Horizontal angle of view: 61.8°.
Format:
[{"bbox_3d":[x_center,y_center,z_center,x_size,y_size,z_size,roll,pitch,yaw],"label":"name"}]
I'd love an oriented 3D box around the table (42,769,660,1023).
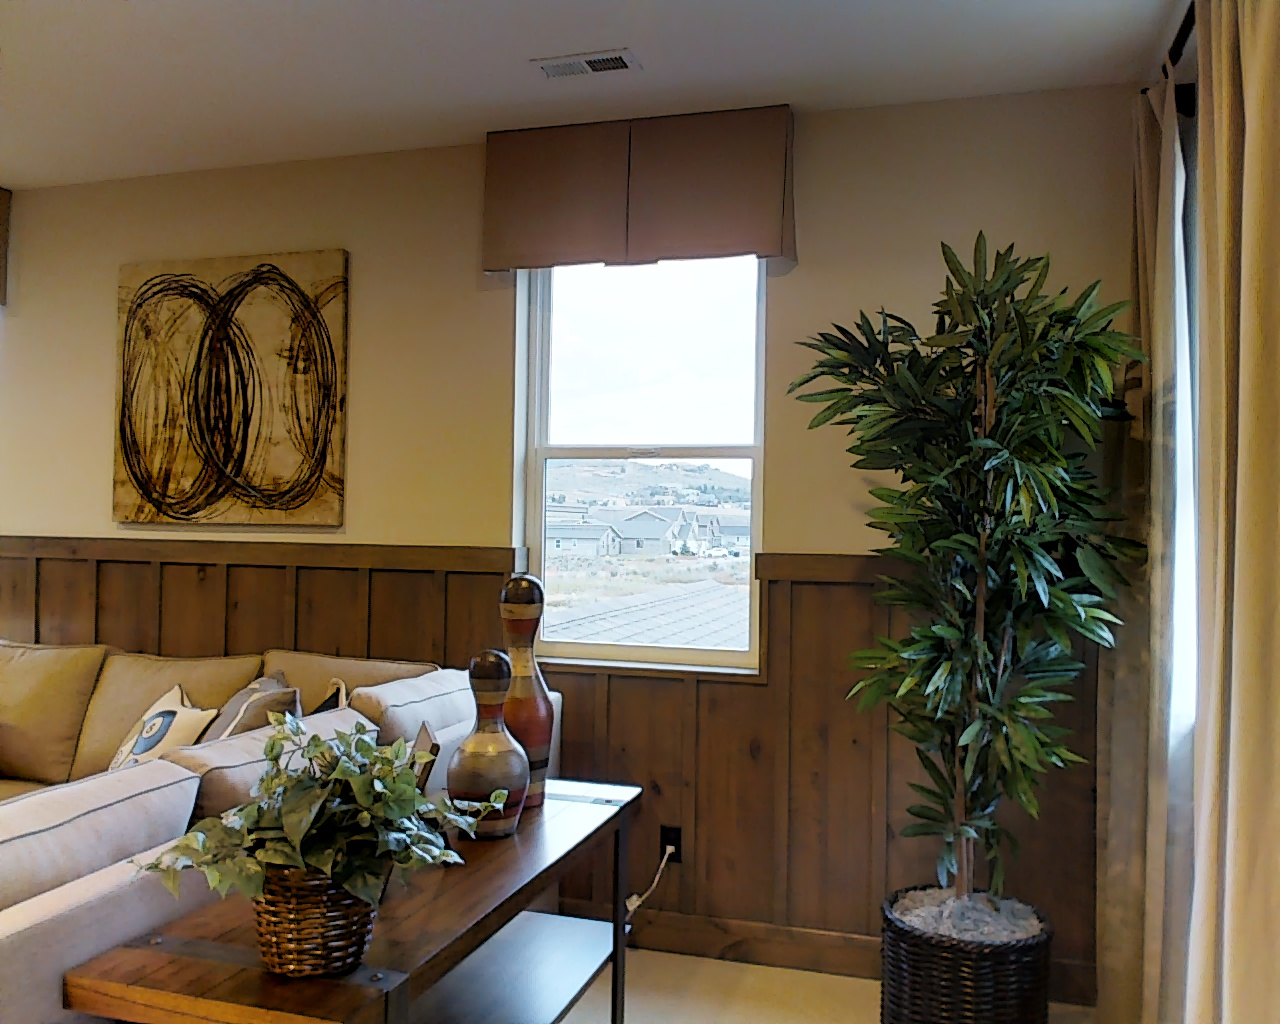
[{"bbox_3d":[-0.400,1.030,2.060,0.530,0.740,1.330,1,-1,17],"label":"table"}]
